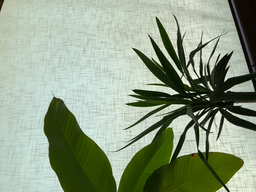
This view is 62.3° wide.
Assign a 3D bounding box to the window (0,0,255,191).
[{"bbox_3d":[-0.050,-0.240,1.180,0.160,1.500,2.480,86,-177,-62],"label":"window"}]
